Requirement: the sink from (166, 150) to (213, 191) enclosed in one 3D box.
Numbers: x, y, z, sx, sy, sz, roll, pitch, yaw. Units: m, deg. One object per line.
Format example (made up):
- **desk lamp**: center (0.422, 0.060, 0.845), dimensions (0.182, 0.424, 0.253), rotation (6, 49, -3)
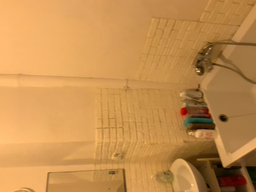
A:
- **sink**: center (0.480, 0.710, 1.660), dimensions (0.300, 0.190, 0.470), rotation (108, 160, -53)
